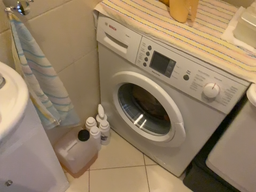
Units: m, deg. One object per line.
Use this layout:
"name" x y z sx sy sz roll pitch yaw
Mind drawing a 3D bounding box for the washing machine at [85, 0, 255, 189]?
"washing machine" 0.200 -0.040 1.120 0.600 0.840 0.510 34 55 20
